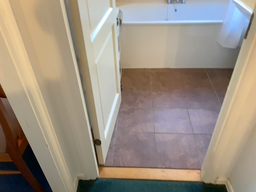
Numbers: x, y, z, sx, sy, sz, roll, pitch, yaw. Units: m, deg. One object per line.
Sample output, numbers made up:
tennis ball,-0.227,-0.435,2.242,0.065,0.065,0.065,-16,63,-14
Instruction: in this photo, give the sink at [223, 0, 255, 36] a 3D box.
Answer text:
sink,1.150,-0.710,1.800,0.460,0.180,0.540,0,39,2
